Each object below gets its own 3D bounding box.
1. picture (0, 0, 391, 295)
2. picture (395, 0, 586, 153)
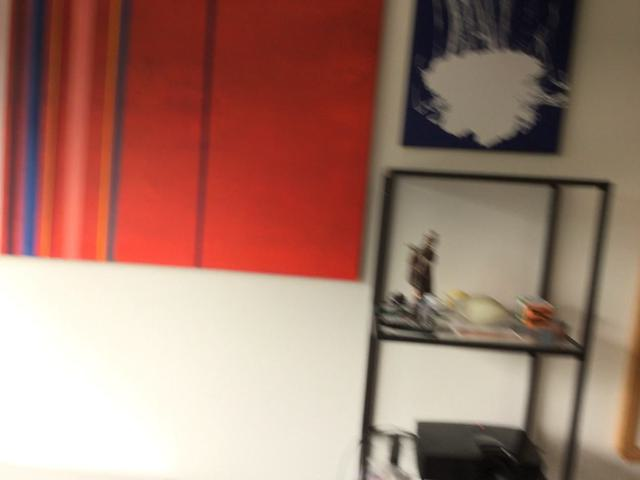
[{"bbox_3d":[-0.470,-0.360,1.660,1.290,0.990,0.080,-3,5,4],"label":"picture"},{"bbox_3d":[0.460,-0.570,1.580,0.500,0.630,0.050,-2,5,4],"label":"picture"}]
